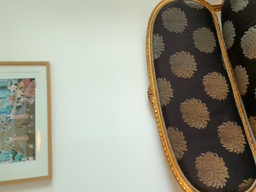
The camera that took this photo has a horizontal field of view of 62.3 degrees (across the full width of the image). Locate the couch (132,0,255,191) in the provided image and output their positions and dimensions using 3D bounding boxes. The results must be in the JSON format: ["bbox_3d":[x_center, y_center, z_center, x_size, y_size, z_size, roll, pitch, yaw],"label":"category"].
[{"bbox_3d":[0.710,-0.130,1.290,0.850,1.010,1.570,131,135,-68],"label":"couch"}]

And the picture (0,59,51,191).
[{"bbox_3d":[-0.740,0.150,1.230,0.030,0.540,0.780,132,134,-68],"label":"picture"}]
